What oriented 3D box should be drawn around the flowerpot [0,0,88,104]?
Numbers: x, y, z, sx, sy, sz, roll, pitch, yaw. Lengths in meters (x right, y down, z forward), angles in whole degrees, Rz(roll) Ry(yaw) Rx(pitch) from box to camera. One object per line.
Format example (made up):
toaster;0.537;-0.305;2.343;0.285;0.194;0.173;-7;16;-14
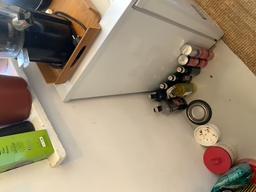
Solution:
flowerpot;-0.430;-0.120;0.570;0.240;0.570;0.200;-45;68;30
